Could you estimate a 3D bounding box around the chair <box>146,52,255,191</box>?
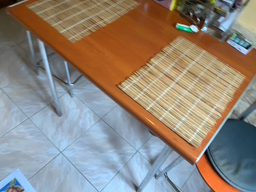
[{"bbox_3d":[0.470,0.300,1.050,0.380,0.830,0.490,39,58,18],"label":"chair"}]
